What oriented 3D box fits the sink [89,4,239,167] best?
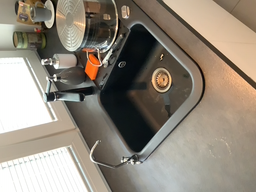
[{"bbox_3d":[0.090,-0.030,0.900,0.400,0.210,0.510,54,133,26],"label":"sink"}]

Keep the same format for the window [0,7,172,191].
[{"bbox_3d":[-0.740,0.100,0.760,1.580,1.530,0.120,54,133,26],"label":"window"}]
